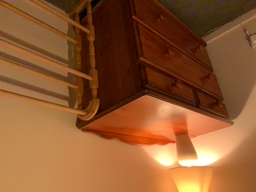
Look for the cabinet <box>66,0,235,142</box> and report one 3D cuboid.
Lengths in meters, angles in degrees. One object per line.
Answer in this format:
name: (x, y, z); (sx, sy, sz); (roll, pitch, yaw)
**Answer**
cabinet: (0.160, -0.170, 1.400); (0.510, 0.750, 0.970); (-27, 149, 36)
